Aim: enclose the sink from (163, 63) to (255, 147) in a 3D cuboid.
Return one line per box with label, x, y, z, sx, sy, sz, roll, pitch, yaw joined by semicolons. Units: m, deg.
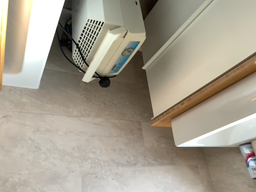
sink;0.470;0.080;0.830;0.460;0.120;0.460;7;151;-27
